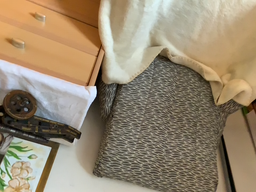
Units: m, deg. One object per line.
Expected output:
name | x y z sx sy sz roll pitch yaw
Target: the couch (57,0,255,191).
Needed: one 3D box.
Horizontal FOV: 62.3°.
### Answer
couch | 0.230 -0.240 0.910 0.620 0.970 0.790 21 135 -14
